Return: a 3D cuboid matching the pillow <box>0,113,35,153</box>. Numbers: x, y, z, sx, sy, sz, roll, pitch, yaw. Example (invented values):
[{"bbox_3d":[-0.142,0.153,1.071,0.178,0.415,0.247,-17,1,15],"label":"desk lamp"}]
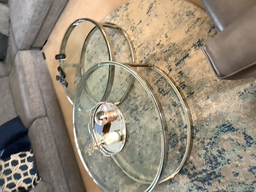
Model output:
[{"bbox_3d":[-1.510,0.460,2.730,0.130,0.380,0.460,-44,81,12],"label":"pillow"}]
